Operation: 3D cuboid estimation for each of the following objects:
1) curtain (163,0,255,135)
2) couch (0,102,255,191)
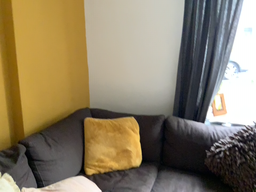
[{"bbox_3d":[0.660,-0.650,1.750,0.660,1.910,0.160,4,12,20],"label":"curtain"},{"bbox_3d":[0.630,0.600,1.490,2.730,0.710,1.100,4,12,19],"label":"couch"}]
